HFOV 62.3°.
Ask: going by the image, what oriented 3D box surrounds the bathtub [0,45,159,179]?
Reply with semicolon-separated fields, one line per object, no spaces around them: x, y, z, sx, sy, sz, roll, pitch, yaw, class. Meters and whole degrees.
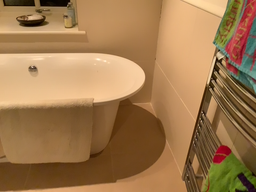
-0.720;0.060;1.660;1.690;0.640;0.850;-2;33;-7;bathtub
